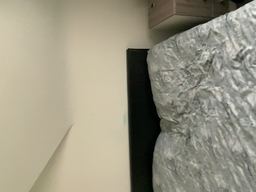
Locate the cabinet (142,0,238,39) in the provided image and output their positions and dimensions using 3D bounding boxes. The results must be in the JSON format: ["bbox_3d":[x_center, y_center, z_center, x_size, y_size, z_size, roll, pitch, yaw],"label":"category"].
[{"bbox_3d":[0.570,-0.920,2.110,0.660,0.650,0.510,-178,86,-72],"label":"cabinet"}]
